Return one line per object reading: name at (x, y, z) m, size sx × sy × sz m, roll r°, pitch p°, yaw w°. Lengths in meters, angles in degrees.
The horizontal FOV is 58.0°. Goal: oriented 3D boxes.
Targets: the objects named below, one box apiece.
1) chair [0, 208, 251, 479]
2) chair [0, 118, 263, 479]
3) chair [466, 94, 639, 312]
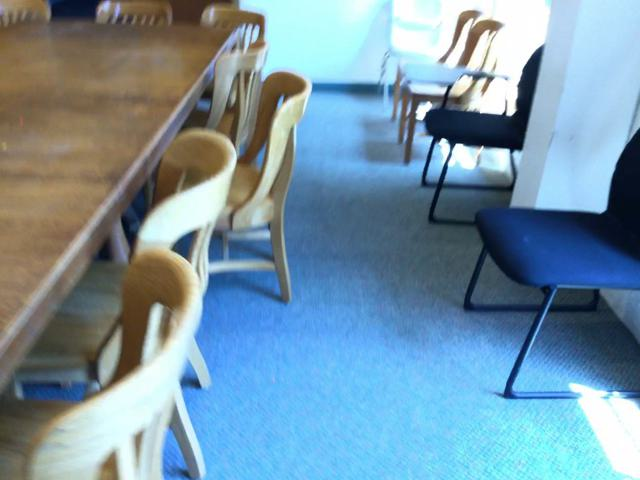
chair at (-0.420, 0.430, 1.030) m, size 0.490 × 0.800 × 0.550 m, roll 2°, pitch 29°, yaw 2°
chair at (-0.440, 0.190, 1.470) m, size 0.490 × 0.830 × 0.590 m, roll 2°, pitch 29°, yaw 2°
chair at (0.820, -0.130, 1.740) m, size 0.600 × 0.470 × 0.510 m, roll 2°, pitch 29°, yaw 2°
